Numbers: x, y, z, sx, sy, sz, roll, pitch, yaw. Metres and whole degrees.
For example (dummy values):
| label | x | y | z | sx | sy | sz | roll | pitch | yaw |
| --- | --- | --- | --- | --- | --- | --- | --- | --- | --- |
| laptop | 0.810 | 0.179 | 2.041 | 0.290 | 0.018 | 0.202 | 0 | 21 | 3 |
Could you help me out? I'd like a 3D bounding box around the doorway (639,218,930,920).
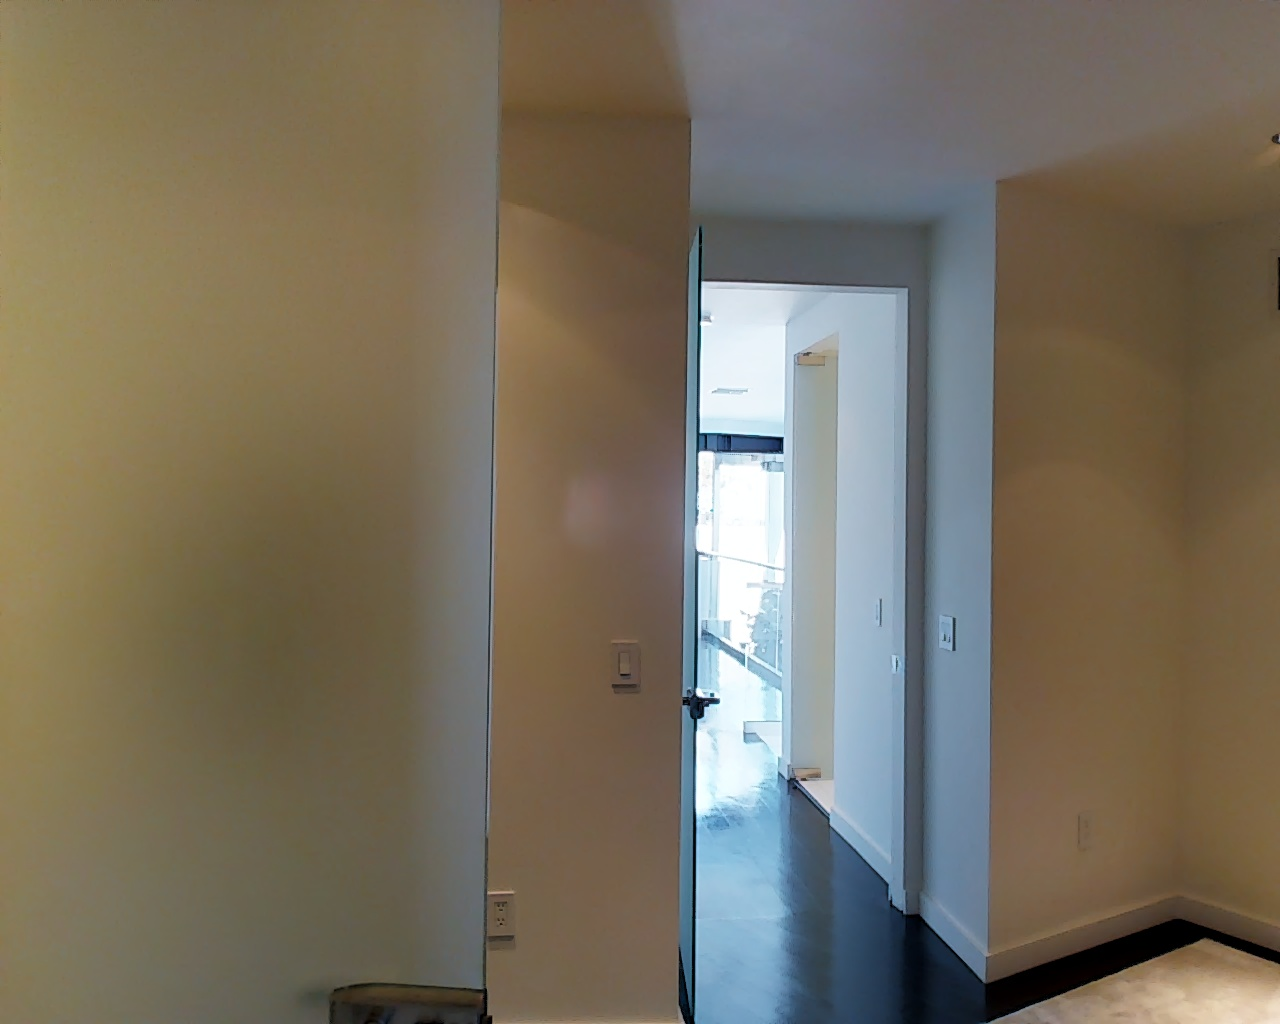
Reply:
| label | x | y | z | sx | sy | sz | roll | pitch | yaw |
| --- | --- | --- | --- | --- | --- | --- | --- | --- | --- |
| doorway | 0.560 | 0.220 | 4.190 | 1.090 | 2.640 | 0.170 | 1 | 0 | -6 |
